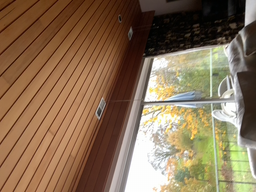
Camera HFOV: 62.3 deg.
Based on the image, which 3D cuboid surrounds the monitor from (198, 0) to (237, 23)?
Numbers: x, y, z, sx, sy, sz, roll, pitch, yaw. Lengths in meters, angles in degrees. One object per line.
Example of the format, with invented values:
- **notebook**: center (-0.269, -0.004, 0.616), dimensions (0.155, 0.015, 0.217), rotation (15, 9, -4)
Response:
- **monitor**: center (1.530, -1.790, 3.660), dimensions (0.070, 0.610, 0.910), rotation (-49, -47, -62)
